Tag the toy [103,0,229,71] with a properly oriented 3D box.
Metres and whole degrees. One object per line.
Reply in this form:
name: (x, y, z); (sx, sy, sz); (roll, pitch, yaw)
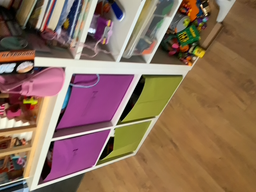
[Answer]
toy: (0.170, -0.390, 1.070); (0.380, 0.350, 0.360); (50, 127, 32)
